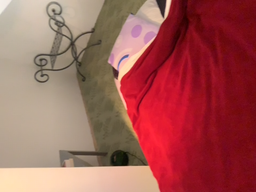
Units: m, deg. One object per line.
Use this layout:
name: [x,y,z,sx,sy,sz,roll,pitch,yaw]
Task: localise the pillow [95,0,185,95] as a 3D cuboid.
pillow: [0.030,-0.410,1.410,0.720,0.170,0.370,-58,38,29]
